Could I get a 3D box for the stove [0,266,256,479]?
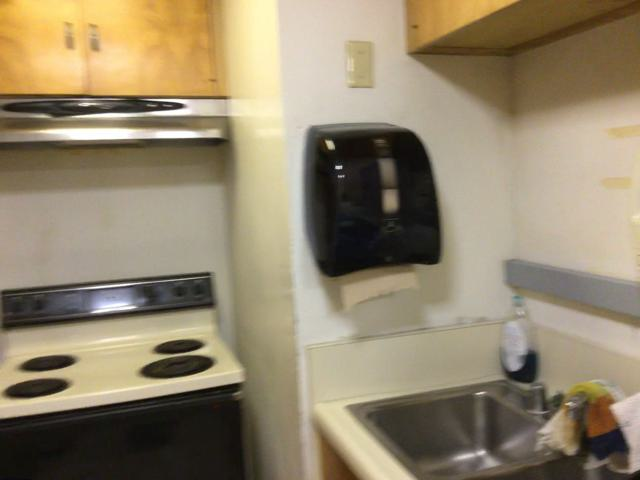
[{"bbox_3d":[-0.760,0.750,1.990,0.930,1.140,0.780,-6,6,-18],"label":"stove"}]
